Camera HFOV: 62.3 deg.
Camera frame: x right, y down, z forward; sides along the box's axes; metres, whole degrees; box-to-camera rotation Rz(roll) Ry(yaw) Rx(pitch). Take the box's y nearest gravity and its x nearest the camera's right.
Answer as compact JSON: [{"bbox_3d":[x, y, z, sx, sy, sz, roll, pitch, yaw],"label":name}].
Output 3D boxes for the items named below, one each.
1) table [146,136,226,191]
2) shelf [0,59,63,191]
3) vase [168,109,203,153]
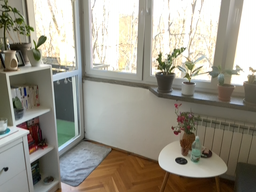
[{"bbox_3d":[0.530,0.740,1.920,0.570,0.450,0.500,10,19,25],"label":"table"},{"bbox_3d":[-0.860,0.320,1.790,0.350,1.190,0.400,9,19,23],"label":"shelf"},{"bbox_3d":[0.550,0.320,2.020,0.230,0.260,0.330,10,19,25],"label":"vase"}]
